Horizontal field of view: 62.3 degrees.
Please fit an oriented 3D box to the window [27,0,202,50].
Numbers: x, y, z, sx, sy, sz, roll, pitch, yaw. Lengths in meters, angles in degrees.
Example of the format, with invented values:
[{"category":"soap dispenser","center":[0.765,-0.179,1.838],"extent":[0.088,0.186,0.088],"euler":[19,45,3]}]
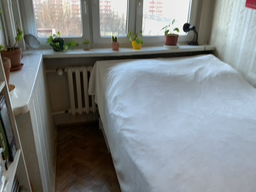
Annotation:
[{"category":"window","center":[-0.050,-1.140,2.440],"extent":[2.040,1.130,0.140],"euler":[-6,25,-18]}]
